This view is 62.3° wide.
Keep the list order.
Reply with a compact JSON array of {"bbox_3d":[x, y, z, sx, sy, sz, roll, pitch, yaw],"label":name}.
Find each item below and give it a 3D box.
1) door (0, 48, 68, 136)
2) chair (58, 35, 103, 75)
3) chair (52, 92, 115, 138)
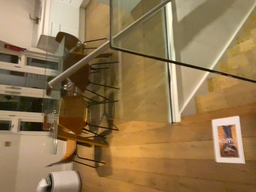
[{"bbox_3d":[-2.370,-0.090,4.460,0.090,2.120,1.800,-26,62,55],"label":"door"},{"bbox_3d":[-0.830,-0.690,3.710,0.470,0.630,0.410,-25,63,56],"label":"chair"},{"bbox_3d":[-0.640,0.310,3.070,0.460,0.760,0.560,-25,63,56],"label":"chair"}]
